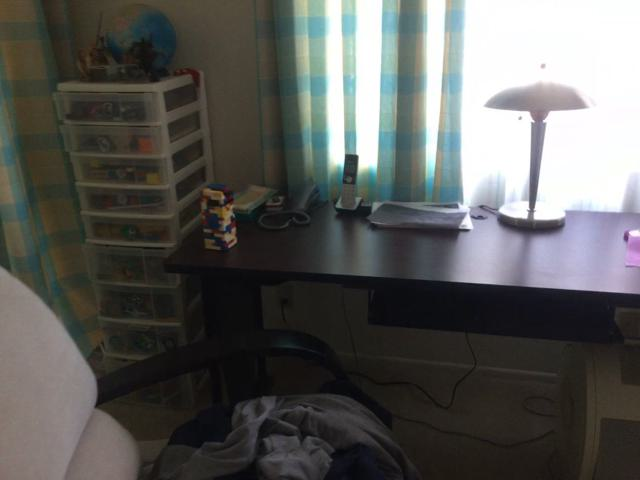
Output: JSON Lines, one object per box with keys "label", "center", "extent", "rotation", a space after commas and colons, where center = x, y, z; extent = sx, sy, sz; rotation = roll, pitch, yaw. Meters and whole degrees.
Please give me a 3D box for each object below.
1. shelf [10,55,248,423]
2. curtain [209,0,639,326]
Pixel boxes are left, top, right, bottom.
{"label": "shelf", "center": [-0.590, -0.010, 2.010], "extent": [0.460, 1.170, 0.440], "rotation": [2, 21, 12]}
{"label": "curtain", "center": [1.160, -0.490, 1.590], "extent": [2.930, 1.480, 0.350], "rotation": [2, 21, 12]}
